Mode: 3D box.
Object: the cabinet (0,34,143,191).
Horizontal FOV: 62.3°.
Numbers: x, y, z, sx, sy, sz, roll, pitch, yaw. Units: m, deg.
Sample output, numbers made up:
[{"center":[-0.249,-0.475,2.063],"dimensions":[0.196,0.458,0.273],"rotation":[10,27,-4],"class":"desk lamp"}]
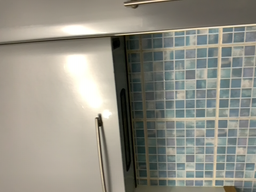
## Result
[{"center":[-0.210,0.130,0.670],"dimensions":[0.310,0.470,0.590],"rotation":[-66,-27,-72],"class":"cabinet"}]
